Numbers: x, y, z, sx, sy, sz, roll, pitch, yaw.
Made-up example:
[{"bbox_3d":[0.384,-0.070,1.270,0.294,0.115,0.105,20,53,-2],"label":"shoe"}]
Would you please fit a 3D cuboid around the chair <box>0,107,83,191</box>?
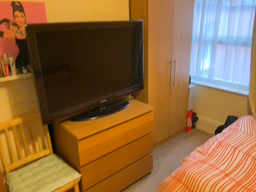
[{"bbox_3d":[-0.710,0.610,1.630,0.580,0.830,0.440,17,27,41],"label":"chair"}]
